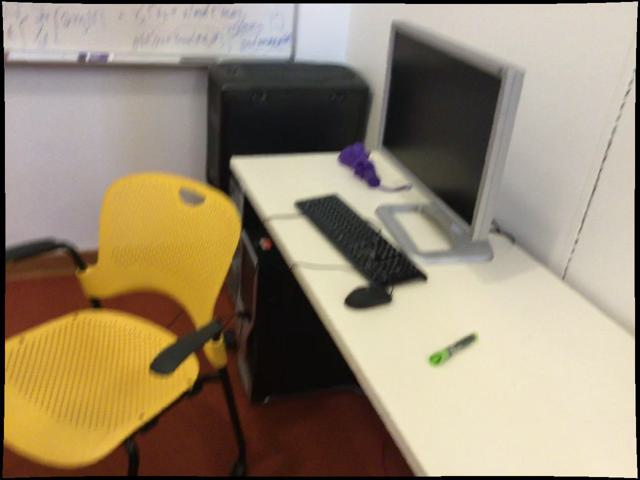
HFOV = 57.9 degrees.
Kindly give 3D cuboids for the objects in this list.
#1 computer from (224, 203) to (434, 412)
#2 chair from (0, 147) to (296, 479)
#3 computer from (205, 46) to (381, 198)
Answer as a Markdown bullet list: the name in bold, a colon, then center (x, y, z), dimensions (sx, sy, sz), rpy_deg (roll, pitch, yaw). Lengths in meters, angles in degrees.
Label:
- **computer**: center (0.000, 0.210, 1.930), dimensions (0.560, 0.560, 0.310), rpy_deg (-4, 32, -21)
- **chair**: center (-0.460, 0.280, 1.420), dimensions (0.490, 0.751, 0.680), rpy_deg (18, 31, 16)
- **computer**: center (-0.130, -0.470, 2.310), dimensions (0.589, 0.490, 0.320), rpy_deg (-4, 32, -21)
